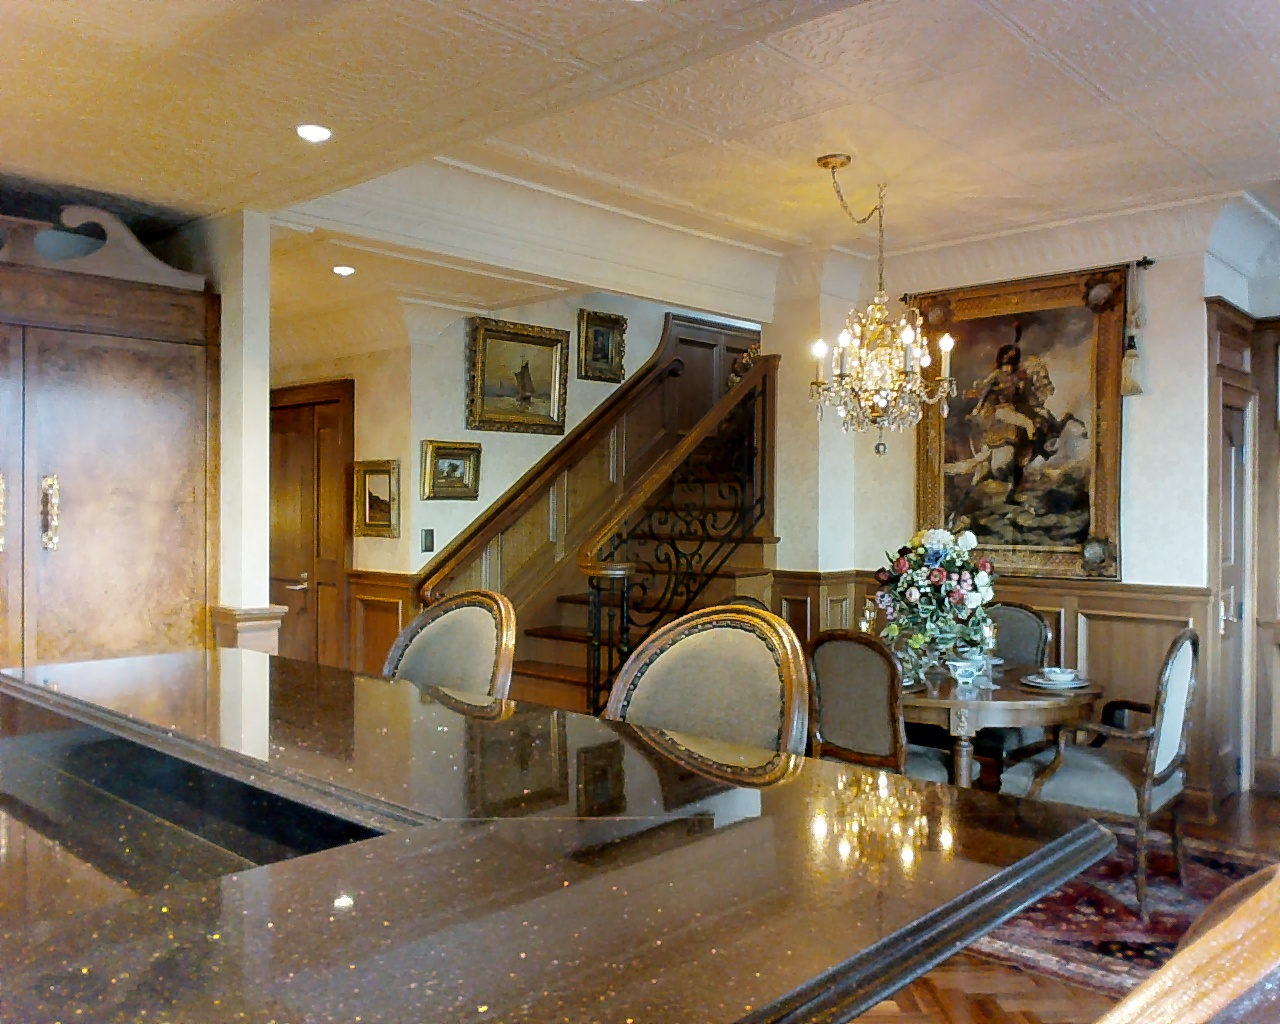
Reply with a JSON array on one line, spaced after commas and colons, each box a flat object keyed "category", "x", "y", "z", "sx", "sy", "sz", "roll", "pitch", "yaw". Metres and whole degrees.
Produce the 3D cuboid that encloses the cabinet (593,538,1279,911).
[{"category": "cabinet", "x": 1.490, "y": 0.720, "z": 5.150, "sx": 2.590, "sy": 1.110, "sz": 2.260, "roll": 0, "pitch": 0, "yaw": 43}]
